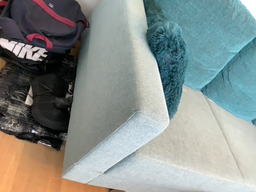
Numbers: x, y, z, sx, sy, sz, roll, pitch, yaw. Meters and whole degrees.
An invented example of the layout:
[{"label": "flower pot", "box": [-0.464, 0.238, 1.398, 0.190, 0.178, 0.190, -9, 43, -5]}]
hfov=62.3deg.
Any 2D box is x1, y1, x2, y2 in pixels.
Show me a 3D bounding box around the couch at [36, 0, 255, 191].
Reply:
[{"label": "couch", "box": [0.800, 0.210, 1.500, 2.350, 0.830, 1.110, 26, 42, -29]}]
